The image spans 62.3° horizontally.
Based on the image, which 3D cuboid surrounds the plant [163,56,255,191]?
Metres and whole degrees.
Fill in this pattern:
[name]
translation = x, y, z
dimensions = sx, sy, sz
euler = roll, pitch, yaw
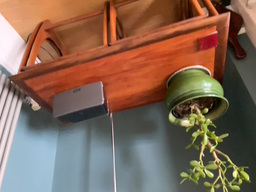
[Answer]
[plant]
translation = 0.360, 0.140, 0.980
dimensions = 0.260, 0.500, 0.330
euler = -14, 144, 10
